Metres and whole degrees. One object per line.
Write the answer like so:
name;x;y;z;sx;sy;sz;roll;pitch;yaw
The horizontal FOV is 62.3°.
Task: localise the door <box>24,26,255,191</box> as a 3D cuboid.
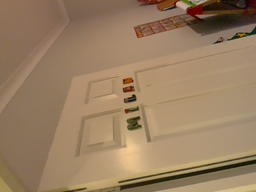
door;0.620;-0.130;0.920;0.770;1.960;0.070;-98;-6;-56
